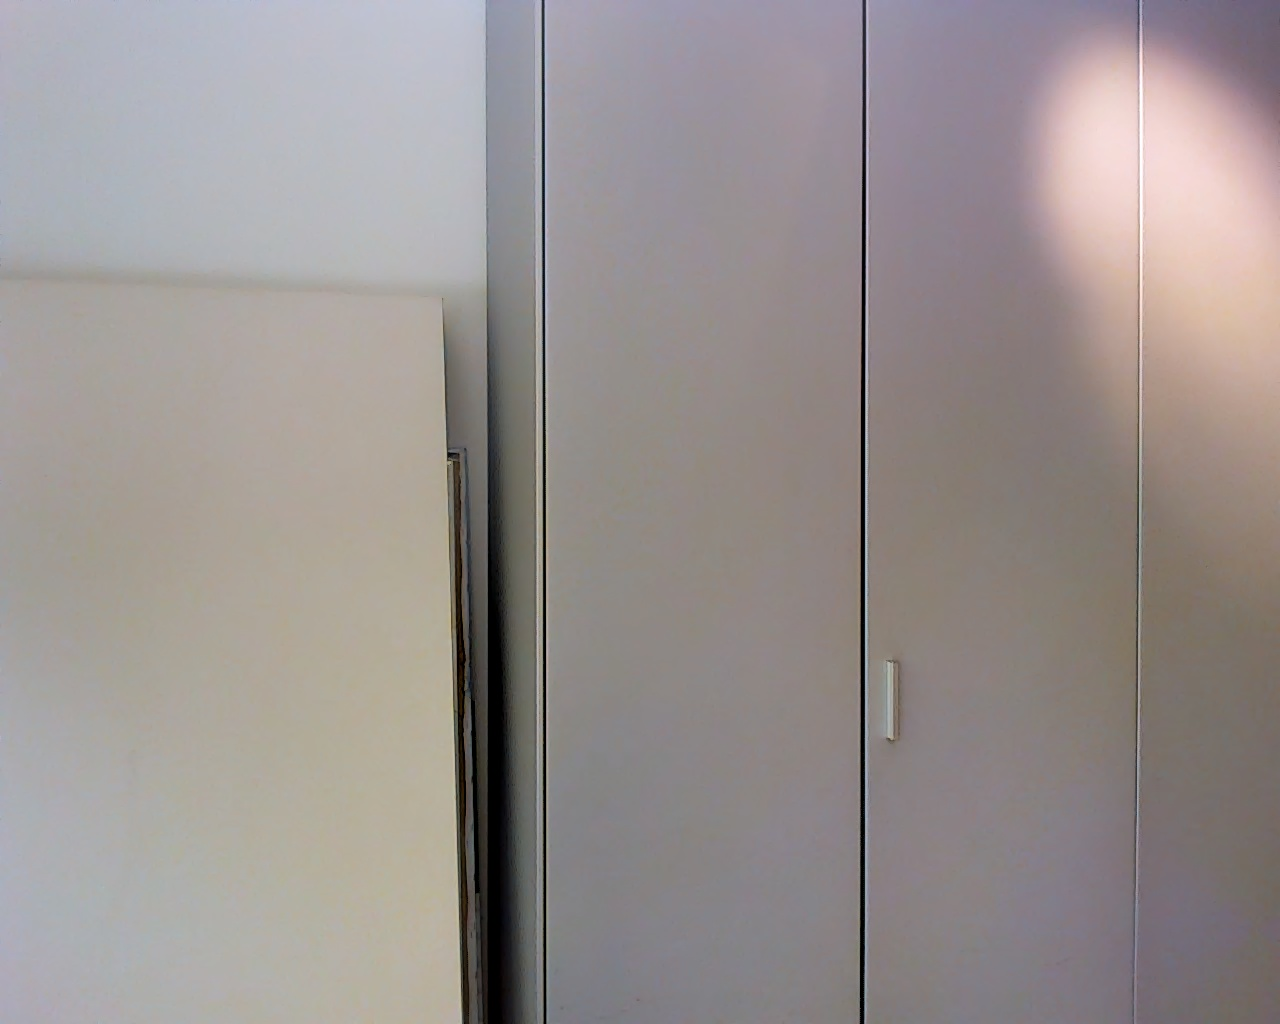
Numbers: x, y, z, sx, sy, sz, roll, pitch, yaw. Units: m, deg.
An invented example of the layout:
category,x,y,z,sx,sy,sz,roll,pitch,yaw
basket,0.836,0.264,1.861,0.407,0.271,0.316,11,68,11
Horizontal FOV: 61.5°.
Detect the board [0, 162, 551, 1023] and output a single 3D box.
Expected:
category,x,y,z,sx,sy,sz,roll,pitch,yaw
board,-0.840,0.450,1.690,1.300,1.790,0.650,0,1,-14
